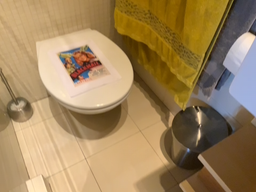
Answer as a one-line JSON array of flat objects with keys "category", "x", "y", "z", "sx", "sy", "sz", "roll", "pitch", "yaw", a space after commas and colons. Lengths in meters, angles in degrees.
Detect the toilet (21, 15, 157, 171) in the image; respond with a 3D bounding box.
[{"category": "toilet", "x": -0.200, "y": -0.030, "z": 1.060, "sx": 0.390, "sy": 0.440, "sz": 0.530, "roll": -22, "pitch": 55, "yaw": -21}]
